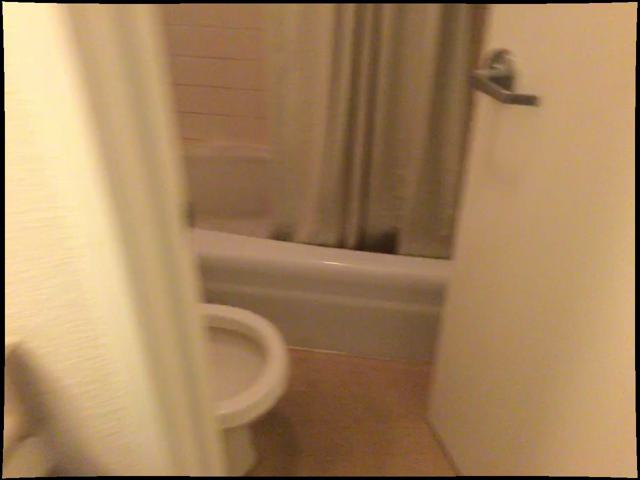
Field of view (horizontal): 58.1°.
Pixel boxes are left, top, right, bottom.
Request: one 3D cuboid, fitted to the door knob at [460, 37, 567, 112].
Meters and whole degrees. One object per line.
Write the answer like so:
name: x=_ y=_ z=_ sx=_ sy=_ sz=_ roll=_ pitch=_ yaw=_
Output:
door knob: x=0.329 y=-0.291 z=1.000 sx=0.090 sy=0.060 sz=0.170 roll=-12 pitch=38 yaw=-13
